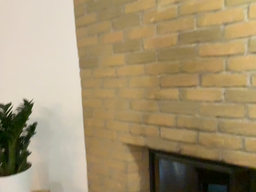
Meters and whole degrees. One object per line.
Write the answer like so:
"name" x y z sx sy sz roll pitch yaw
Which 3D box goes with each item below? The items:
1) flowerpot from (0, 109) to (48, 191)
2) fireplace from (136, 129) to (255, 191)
"flowerpot" -0.730 0.390 1.340 0.290 0.540 0.360 -4 7 -6
"fireplace" 0.470 0.570 1.420 0.690 0.520 0.420 2 9 36
